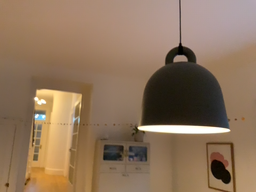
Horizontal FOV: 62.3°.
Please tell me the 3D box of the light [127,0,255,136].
[{"bbox_3d":[0.410,-0.330,1.550,0.440,0.630,1.150,-9,82,-20],"label":"light"}]
